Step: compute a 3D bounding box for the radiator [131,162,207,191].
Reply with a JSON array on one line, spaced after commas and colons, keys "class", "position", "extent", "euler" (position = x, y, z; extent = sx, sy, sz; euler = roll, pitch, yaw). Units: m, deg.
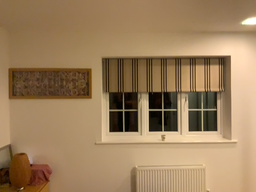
[{"class": "radiator", "position": [0.530, 1.130, 2.740], "extent": [0.960, 0.500, 0.110], "euler": [-1, 0, -2]}]

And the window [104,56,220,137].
[{"class": "window", "position": [0.490, 0.000, 3.020], "extent": [1.650, 1.120, 0.060], "euler": [-1, 0, -3]}]
